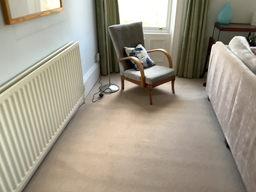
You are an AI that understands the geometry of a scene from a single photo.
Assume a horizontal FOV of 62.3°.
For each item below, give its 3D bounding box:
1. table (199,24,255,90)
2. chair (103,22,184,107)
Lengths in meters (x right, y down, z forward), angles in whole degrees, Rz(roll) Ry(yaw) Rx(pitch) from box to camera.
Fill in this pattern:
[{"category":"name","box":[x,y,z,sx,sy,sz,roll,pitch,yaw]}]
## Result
[{"category":"table","box":[1.490,-0.570,3.080,0.690,0.820,0.410,5,29,8]},{"category":"chair","box":[0.180,-0.480,2.910,0.860,0.840,0.590,26,37,38]}]
